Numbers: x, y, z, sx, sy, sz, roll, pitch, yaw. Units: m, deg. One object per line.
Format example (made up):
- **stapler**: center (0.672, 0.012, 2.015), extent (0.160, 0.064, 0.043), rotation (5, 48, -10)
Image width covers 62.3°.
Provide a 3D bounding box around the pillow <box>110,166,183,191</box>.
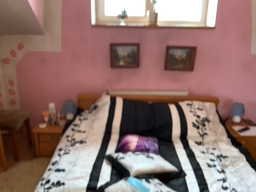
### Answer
- **pillow**: center (0.120, 0.630, 1.420), extent (0.450, 0.150, 0.290), rotation (2, 18, 3)
